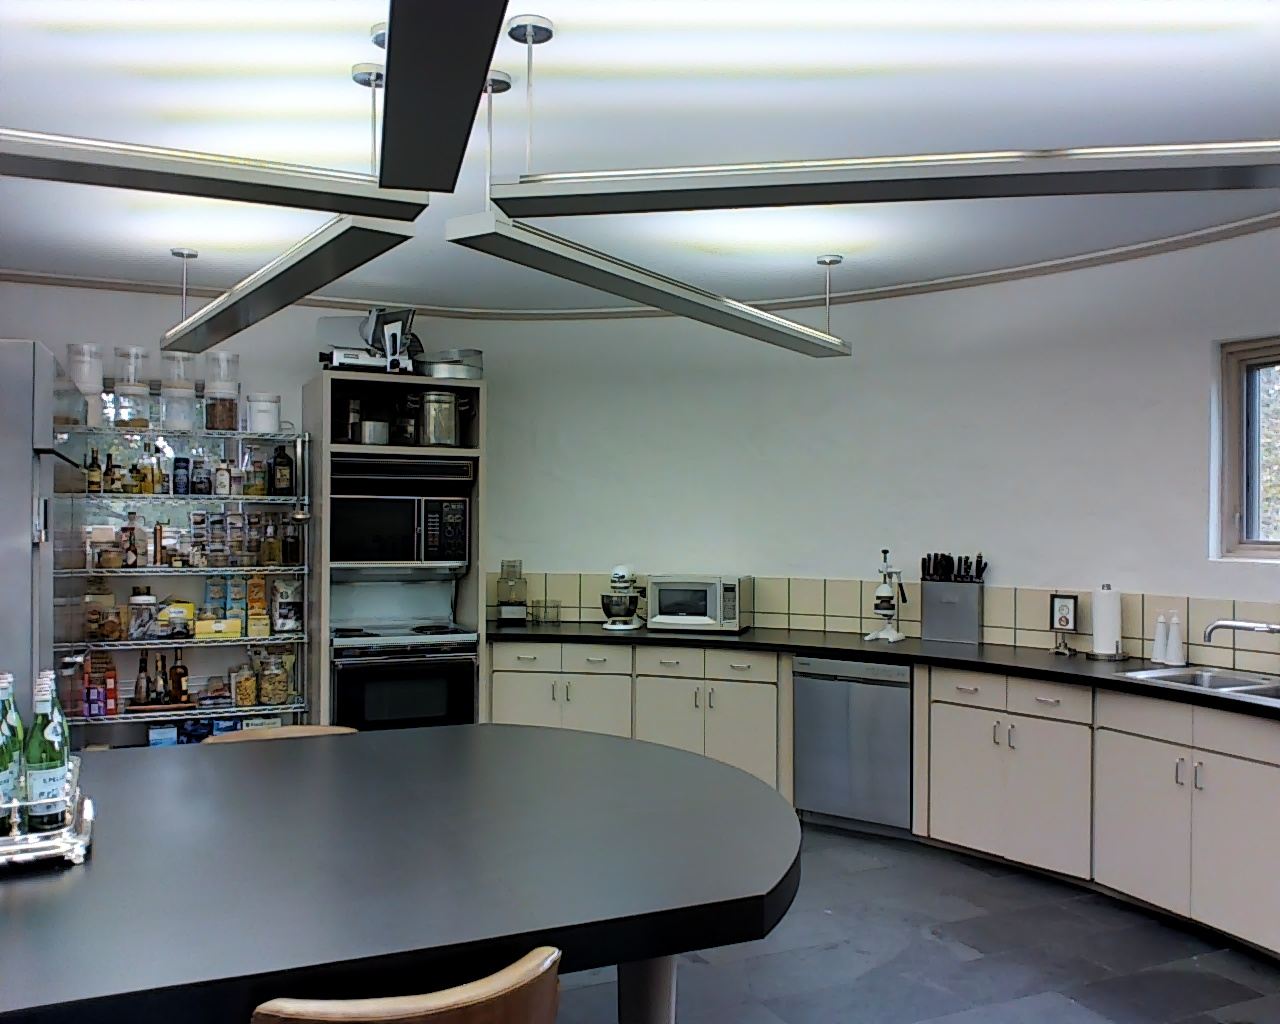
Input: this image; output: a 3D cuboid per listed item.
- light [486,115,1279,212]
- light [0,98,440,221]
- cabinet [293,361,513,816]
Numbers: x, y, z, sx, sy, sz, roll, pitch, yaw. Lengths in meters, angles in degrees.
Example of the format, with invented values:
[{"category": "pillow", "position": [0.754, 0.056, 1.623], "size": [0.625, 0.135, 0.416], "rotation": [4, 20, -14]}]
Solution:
[{"category": "light", "position": [0.960, -0.830, 2.530], "size": [2.680, 0.090, 0.200], "rotation": [0, 0, 9]}, {"category": "light", "position": [-1.190, -0.840, 2.510], "size": [1.410, 0.100, 0.200], "rotation": [1, 0, -24]}, {"category": "cabinet", "position": [-1.310, 0.380, 5.860], "size": [1.010, 2.240, 0.820], "rotation": [1, 0, -24]}]
